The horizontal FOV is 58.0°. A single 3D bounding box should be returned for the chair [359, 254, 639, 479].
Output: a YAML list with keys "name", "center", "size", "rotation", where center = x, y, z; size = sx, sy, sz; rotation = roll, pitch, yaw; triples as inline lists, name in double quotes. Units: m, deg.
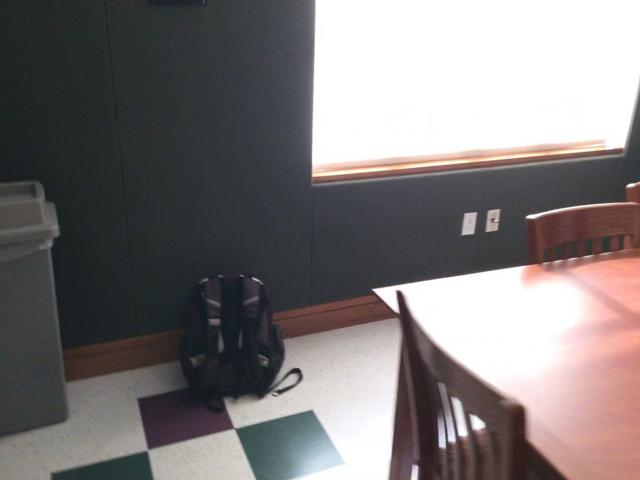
- name: "chair"
  center: [0.450, 0.580, 1.210]
  size: [0.540, 0.880, 0.570]
  rotation: [-9, 23, -21]

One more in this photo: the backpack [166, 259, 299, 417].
- name: "backpack"
  center: [-0.350, 0.370, 2.310]
  size: [0.420, 0.420, 0.370]
  rotation: [-9, 23, -21]
